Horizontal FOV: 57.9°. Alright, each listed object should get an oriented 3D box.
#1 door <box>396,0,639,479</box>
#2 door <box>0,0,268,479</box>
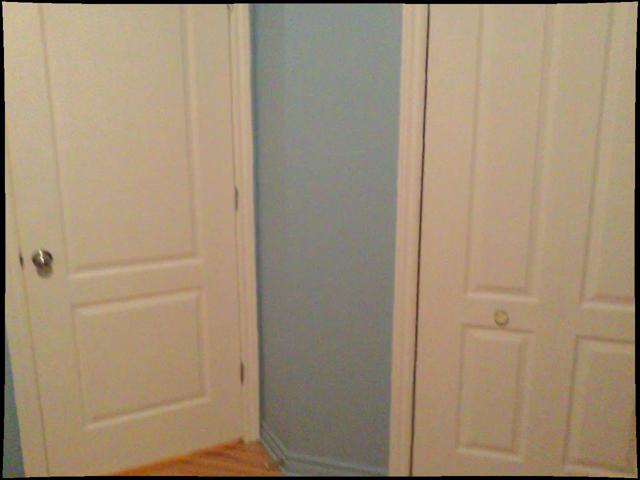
[{"bbox_3d":[0.769,-0.040,1.790,0.969,2.032,0.130,5,15,15],"label":"door"},{"bbox_3d":[-0.669,-0.100,2.080,0.919,2.012,0.220,-6,16,-26],"label":"door"}]
